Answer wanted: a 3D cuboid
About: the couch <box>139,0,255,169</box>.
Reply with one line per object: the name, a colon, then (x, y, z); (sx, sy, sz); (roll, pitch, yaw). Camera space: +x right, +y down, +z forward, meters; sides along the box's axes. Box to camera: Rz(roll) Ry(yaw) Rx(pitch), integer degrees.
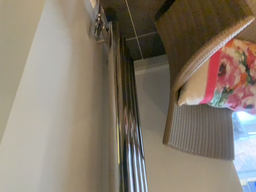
couch: (0.500, -0.190, 1.090); (0.550, 0.880, 0.640); (16, 139, -26)
